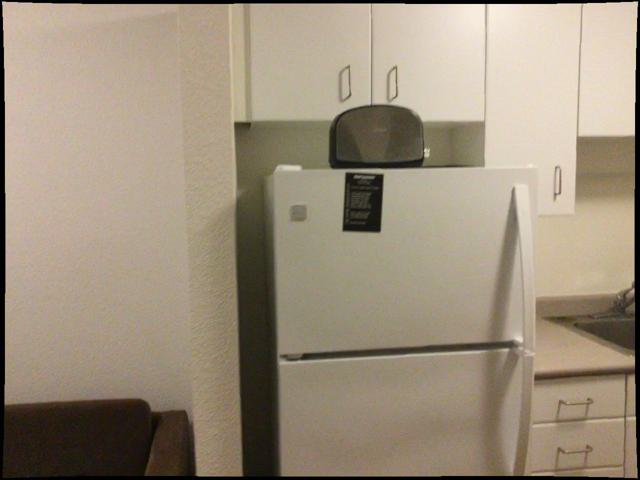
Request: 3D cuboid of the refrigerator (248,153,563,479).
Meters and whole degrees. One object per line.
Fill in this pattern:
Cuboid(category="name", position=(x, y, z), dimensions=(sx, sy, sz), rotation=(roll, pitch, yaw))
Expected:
Cuboid(category="refrigerator", position=(0.200, 0.501, 1.900), dimensions=(0.769, 1.511, 0.810), rotation=(-3, 7, -8))
